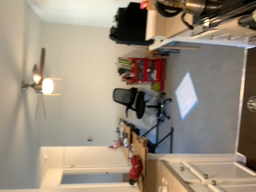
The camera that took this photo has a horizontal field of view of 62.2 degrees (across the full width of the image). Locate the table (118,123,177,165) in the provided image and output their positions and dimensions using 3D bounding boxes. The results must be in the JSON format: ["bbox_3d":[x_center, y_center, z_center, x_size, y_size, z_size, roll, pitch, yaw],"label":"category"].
[{"bbox_3d":[0.310,0.880,4.140,1.170,0.820,0.460,-157,70,-78],"label":"table"}]

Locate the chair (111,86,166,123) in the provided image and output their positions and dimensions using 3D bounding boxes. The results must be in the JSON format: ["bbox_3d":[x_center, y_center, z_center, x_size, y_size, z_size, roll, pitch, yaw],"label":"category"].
[{"bbox_3d":[0.180,0.170,4.440,0.640,1.010,0.440,-104,20,-56],"label":"chair"}]
